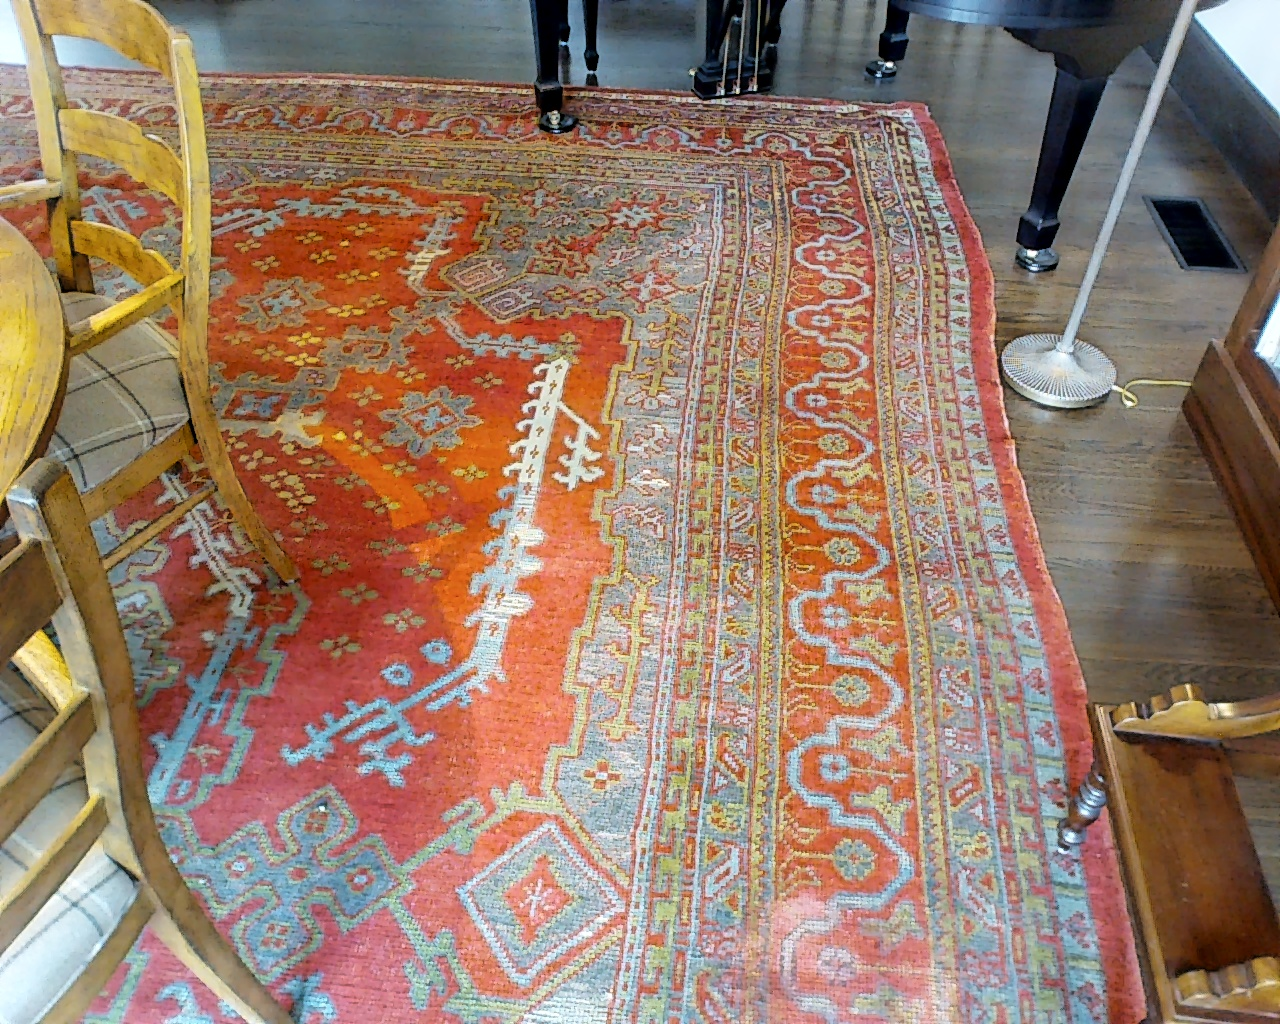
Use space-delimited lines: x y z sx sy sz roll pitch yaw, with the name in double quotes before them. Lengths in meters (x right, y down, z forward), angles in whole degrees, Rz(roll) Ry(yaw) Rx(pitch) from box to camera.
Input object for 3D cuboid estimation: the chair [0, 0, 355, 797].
"chair" -0.980 -0.220 1.680 0.590 1.010 0.660 31 51 28
